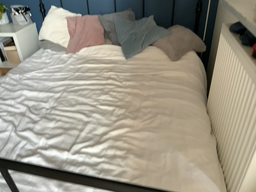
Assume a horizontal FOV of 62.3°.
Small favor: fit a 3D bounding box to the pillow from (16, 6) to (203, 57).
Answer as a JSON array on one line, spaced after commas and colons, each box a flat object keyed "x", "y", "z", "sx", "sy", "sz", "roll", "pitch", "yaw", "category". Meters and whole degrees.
[{"x": -0.160, "y": -0.650, "z": 2.070, "sx": 1.590, "sy": 0.320, "sz": 0.510, "roll": 3, "pitch": 34, "yaw": 7, "category": "pillow"}]
